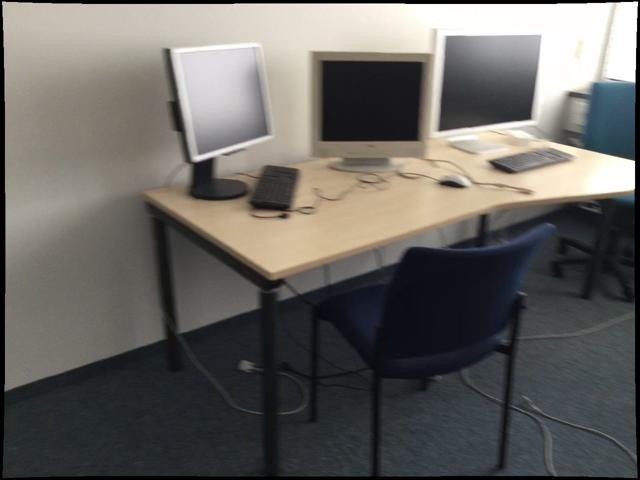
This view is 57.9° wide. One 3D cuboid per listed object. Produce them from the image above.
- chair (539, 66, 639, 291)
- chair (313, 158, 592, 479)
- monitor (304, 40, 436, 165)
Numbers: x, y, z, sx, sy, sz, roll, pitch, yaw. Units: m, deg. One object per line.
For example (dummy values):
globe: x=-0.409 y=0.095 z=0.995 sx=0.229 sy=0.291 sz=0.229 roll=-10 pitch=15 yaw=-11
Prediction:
chair: x=1.558 y=-0.340 z=2.980 sx=0.639 sy=0.941 sz=0.730 roll=9 pitch=26 yaw=16
chair: x=0.330 y=0.200 z=1.780 sx=0.540 sy=0.721 sz=0.590 roll=-7 pitch=26 yaw=-17
monitor: x=0.180 y=-0.551 z=2.300 sx=0.460 sy=0.440 sz=0.230 roll=-3 pitch=25 yaw=-9
